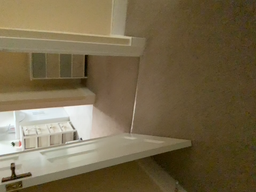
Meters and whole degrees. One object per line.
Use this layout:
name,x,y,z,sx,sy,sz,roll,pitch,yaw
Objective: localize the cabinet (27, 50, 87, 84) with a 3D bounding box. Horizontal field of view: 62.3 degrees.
cabinet,-0.950,-0.400,2.870,0.360,0.700,0.400,21,112,57
